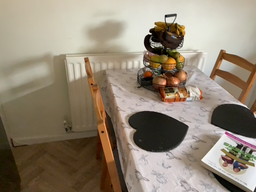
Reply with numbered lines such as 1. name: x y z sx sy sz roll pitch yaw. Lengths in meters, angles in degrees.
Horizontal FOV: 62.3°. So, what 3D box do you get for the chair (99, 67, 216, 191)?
1. chair: 0.070 0.370 1.180 0.410 0.960 0.410 -4 30 -12
